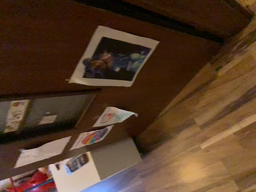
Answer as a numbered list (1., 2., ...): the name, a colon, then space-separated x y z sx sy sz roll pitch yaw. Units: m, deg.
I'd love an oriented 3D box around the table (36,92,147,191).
1. table: -0.300 0.360 1.620 0.560 0.460 0.550 -41 67 37
